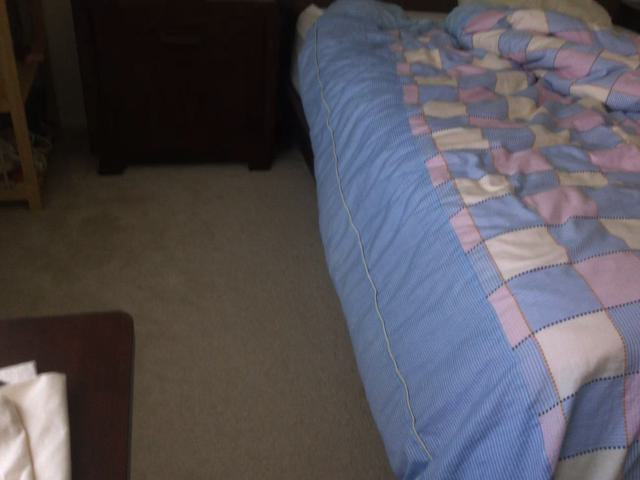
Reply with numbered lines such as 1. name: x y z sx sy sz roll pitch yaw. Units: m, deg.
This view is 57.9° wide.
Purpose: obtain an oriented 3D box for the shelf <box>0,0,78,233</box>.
1. shelf: -1.080 -0.640 1.850 0.330 0.990 0.760 -4 34 -12

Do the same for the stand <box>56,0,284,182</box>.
1. stand: -0.540 -0.660 2.220 0.720 0.710 0.450 -4 34 -13
